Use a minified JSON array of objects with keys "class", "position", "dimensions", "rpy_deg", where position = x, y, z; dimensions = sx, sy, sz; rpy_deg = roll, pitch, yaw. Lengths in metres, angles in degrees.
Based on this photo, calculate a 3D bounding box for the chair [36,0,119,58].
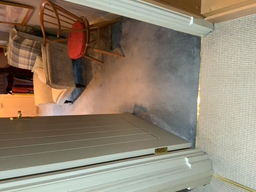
[{"class":"chair","position":[-0.530,-0.660,2.210],"dimensions":[0.430,0.710,0.440],"rpy_deg":[14,101,55]}]

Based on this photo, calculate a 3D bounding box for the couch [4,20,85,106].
[{"class":"couch","position":[-1.320,-0.420,3.230],"dimensions":[0.900,0.920,0.850],"rpy_deg":[-38,58,49]}]
